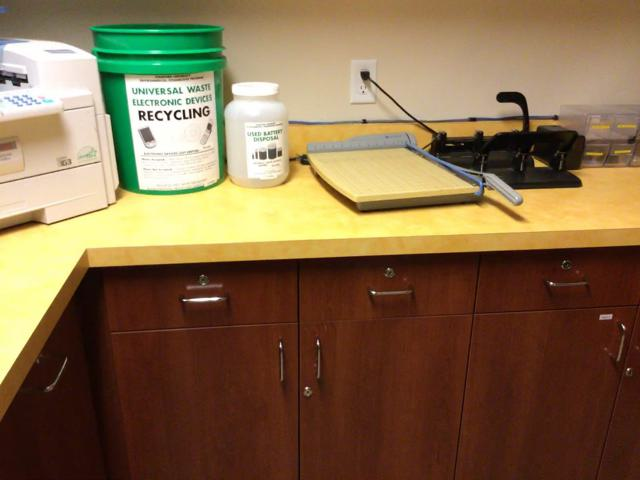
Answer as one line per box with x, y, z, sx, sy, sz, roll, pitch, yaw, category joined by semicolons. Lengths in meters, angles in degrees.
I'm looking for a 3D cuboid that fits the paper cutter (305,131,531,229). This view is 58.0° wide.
0.190;-0.170;1.420;0.420;0.100;0.560;-2;20;-4;paper cutter

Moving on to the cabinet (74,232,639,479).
0.360;0.390;1.360;1.670;0.790;0.140;-2;20;-4;cabinet

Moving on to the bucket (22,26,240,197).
-0.420;-0.330;1.420;0.410;0.360;0.340;-2;20;-4;bucket
